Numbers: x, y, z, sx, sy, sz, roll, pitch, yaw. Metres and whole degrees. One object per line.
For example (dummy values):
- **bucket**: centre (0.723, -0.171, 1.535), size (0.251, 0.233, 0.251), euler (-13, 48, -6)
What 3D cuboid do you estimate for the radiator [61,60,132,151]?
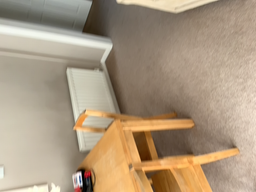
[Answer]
- **radiator**: centre (-0.420, 0.060, 2.650), size (0.100, 0.640, 1.200), euler (-53, 46, 43)
